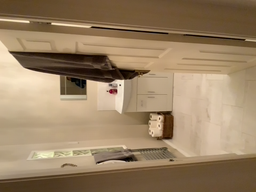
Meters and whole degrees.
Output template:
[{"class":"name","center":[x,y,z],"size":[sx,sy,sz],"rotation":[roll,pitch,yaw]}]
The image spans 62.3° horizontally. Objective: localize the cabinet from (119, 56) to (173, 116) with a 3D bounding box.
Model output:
[{"class":"cabinet","center":[0.270,-0.160,3.400],"size":[0.360,0.770,0.870],"rotation":[-165,75,-74]}]

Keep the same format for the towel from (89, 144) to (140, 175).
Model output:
[{"class":"towel","center":[-0.170,0.710,2.450],"size":[0.430,0.510,0.180],"rotation":[-174,83,-74]}]

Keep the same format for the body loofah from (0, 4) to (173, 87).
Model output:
[{"class":"body loofah","center":[-0.300,-0.350,1.740],"size":[0.460,1.190,0.460],"rotation":[149,119,-72]}]
